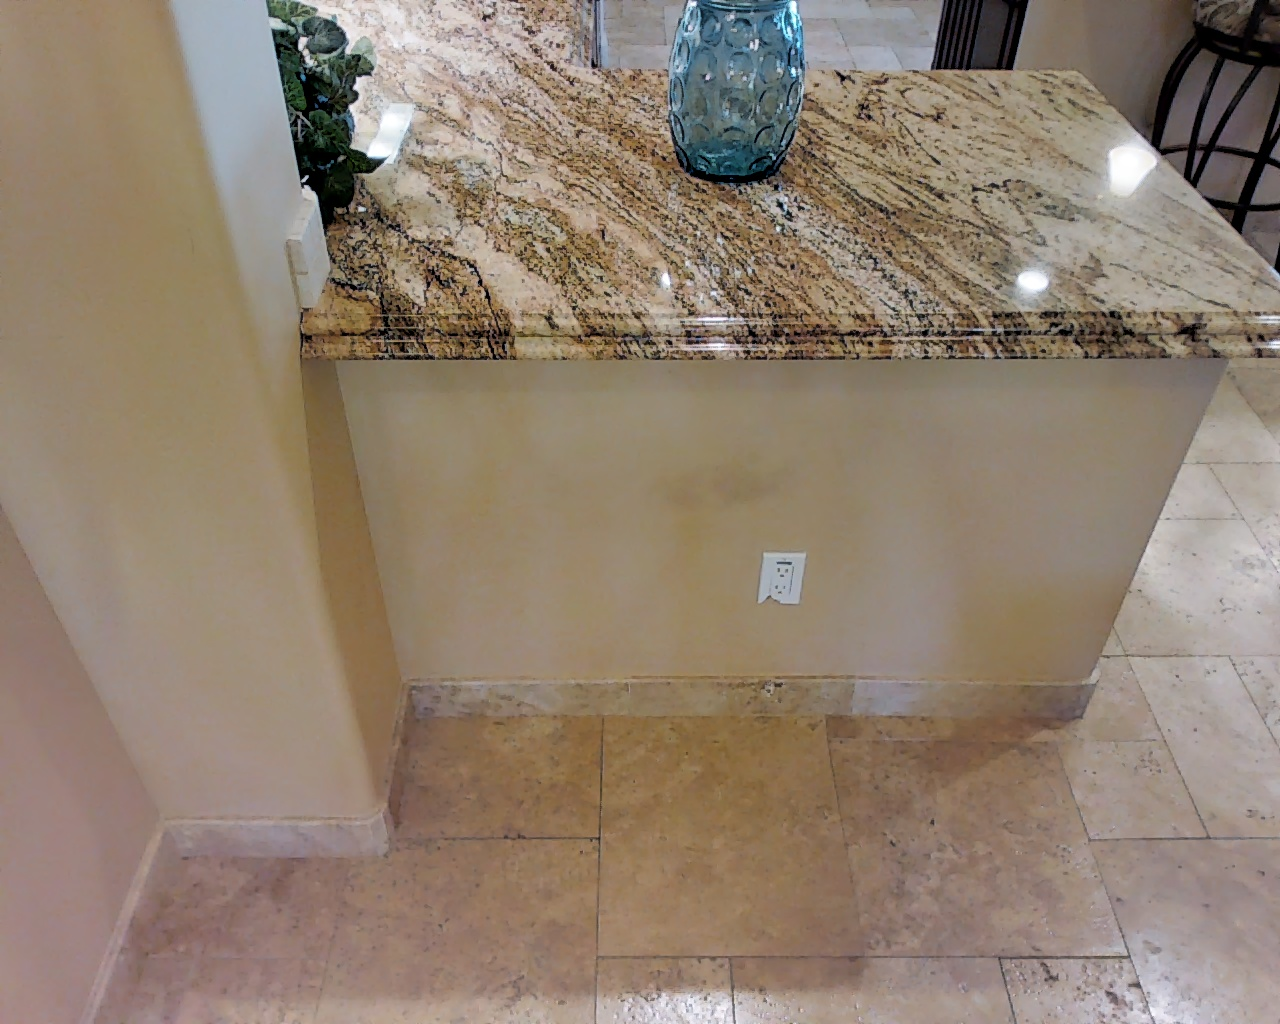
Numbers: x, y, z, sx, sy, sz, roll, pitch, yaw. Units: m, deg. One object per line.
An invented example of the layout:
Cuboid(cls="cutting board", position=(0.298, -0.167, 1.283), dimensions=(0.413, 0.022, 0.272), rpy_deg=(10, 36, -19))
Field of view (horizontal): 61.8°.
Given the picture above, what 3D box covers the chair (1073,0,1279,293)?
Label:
Cuboid(cls="chair", position=(1.691, -1.269, 2.930), dimensions=(0.500, 1.170, 0.600), rpy_deg=(0, 41, -1))
